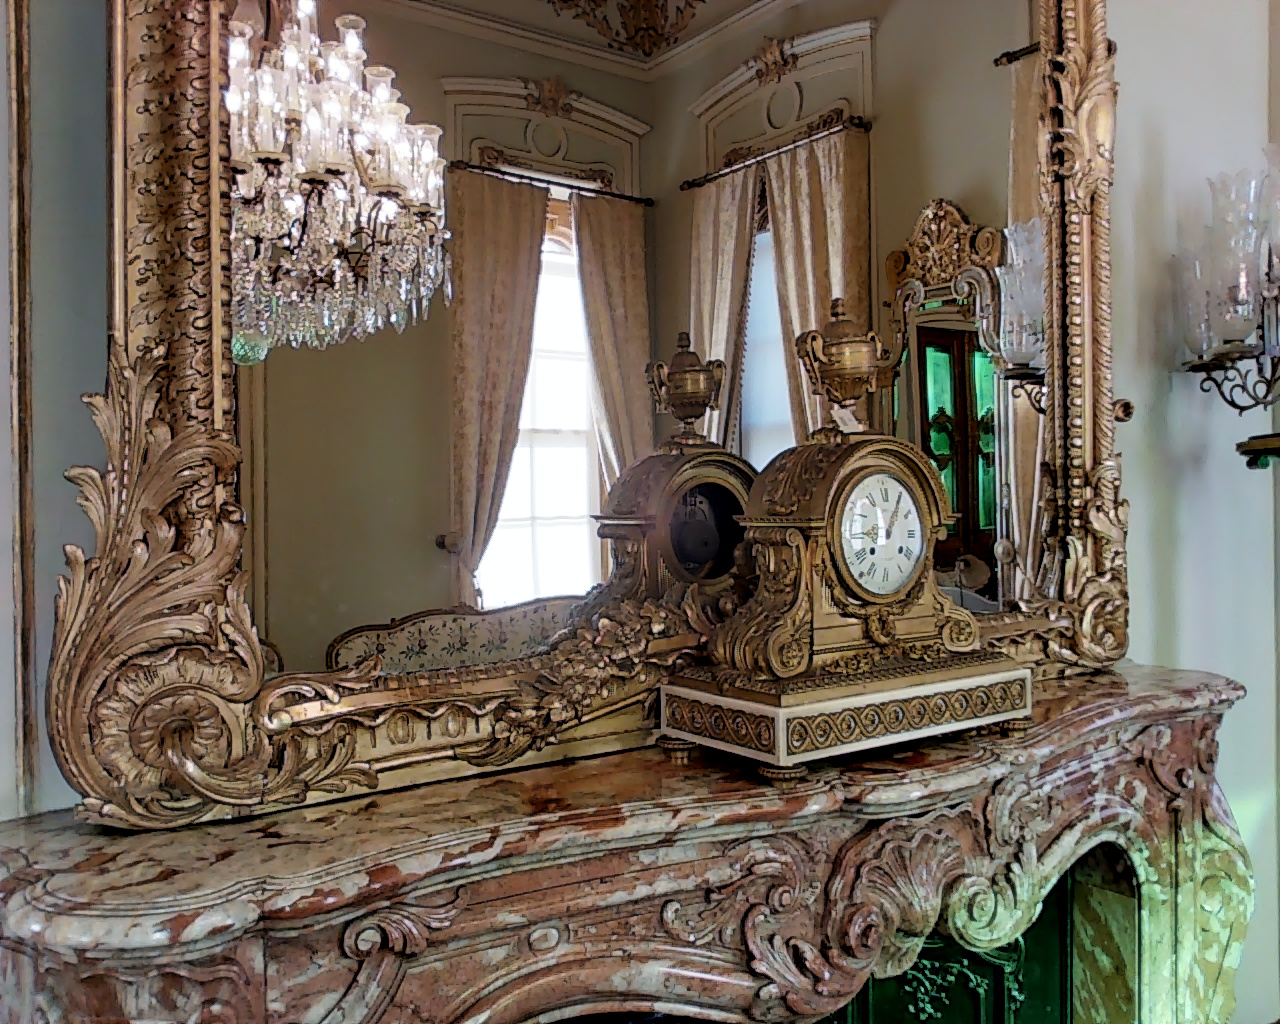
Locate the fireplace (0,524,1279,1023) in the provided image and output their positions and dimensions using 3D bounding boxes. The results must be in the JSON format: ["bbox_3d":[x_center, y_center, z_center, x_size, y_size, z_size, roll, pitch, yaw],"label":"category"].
[{"bbox_3d":[0.380,0.880,1.700,2.419,1.681,0.460,-1,0,-34],"label":"fireplace"}]
